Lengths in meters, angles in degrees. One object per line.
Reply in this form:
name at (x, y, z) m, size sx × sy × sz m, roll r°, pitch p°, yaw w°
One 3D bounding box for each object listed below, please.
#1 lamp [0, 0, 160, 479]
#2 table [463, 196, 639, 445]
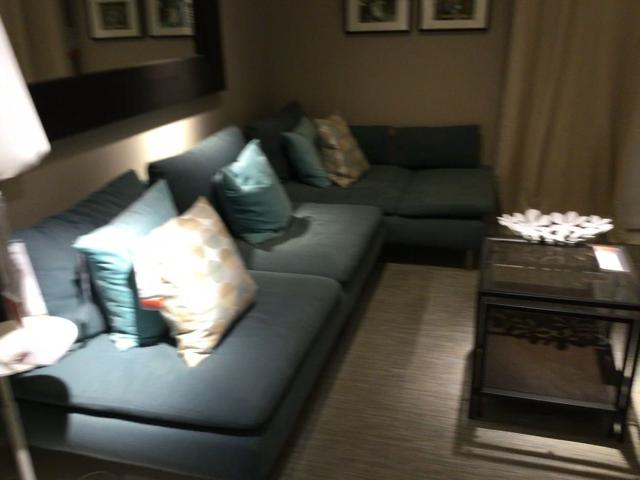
lamp at (-0.780, 0.170, 1.370) m, size 0.460 × 1.420 × 0.330 m, roll 1°, pitch 20°, yaw 21°
table at (0.870, 0.220, 2.210) m, size 0.510 × 0.540 × 0.940 m, roll 1°, pitch 20°, yaw 21°
